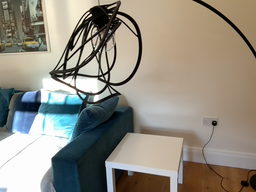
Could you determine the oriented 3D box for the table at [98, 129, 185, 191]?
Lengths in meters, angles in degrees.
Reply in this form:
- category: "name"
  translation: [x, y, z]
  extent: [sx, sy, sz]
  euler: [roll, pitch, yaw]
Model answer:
- category: "table"
  translation: [0.160, 0.660, 1.880]
  extent: [0.600, 0.480, 0.600]
  euler: [3, 15, 20]
